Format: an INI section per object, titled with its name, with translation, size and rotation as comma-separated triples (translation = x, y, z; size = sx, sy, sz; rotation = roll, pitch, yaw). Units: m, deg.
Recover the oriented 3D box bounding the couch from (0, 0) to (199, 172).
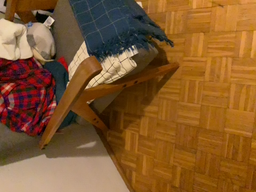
[couch]
translation = -0.280, -0.180, 0.980
size = 0.760, 0.770, 0.620
rotation = -42, 70, 30
